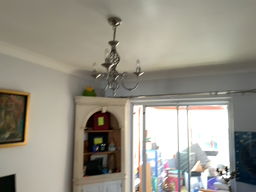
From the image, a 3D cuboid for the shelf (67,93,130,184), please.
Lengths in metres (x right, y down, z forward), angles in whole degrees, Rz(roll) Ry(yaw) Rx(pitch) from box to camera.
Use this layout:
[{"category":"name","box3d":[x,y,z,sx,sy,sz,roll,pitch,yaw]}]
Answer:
[{"category":"shelf","box3d":[-0.410,0.600,3.310,0.560,1.190,0.850,-3,-7,26]}]
